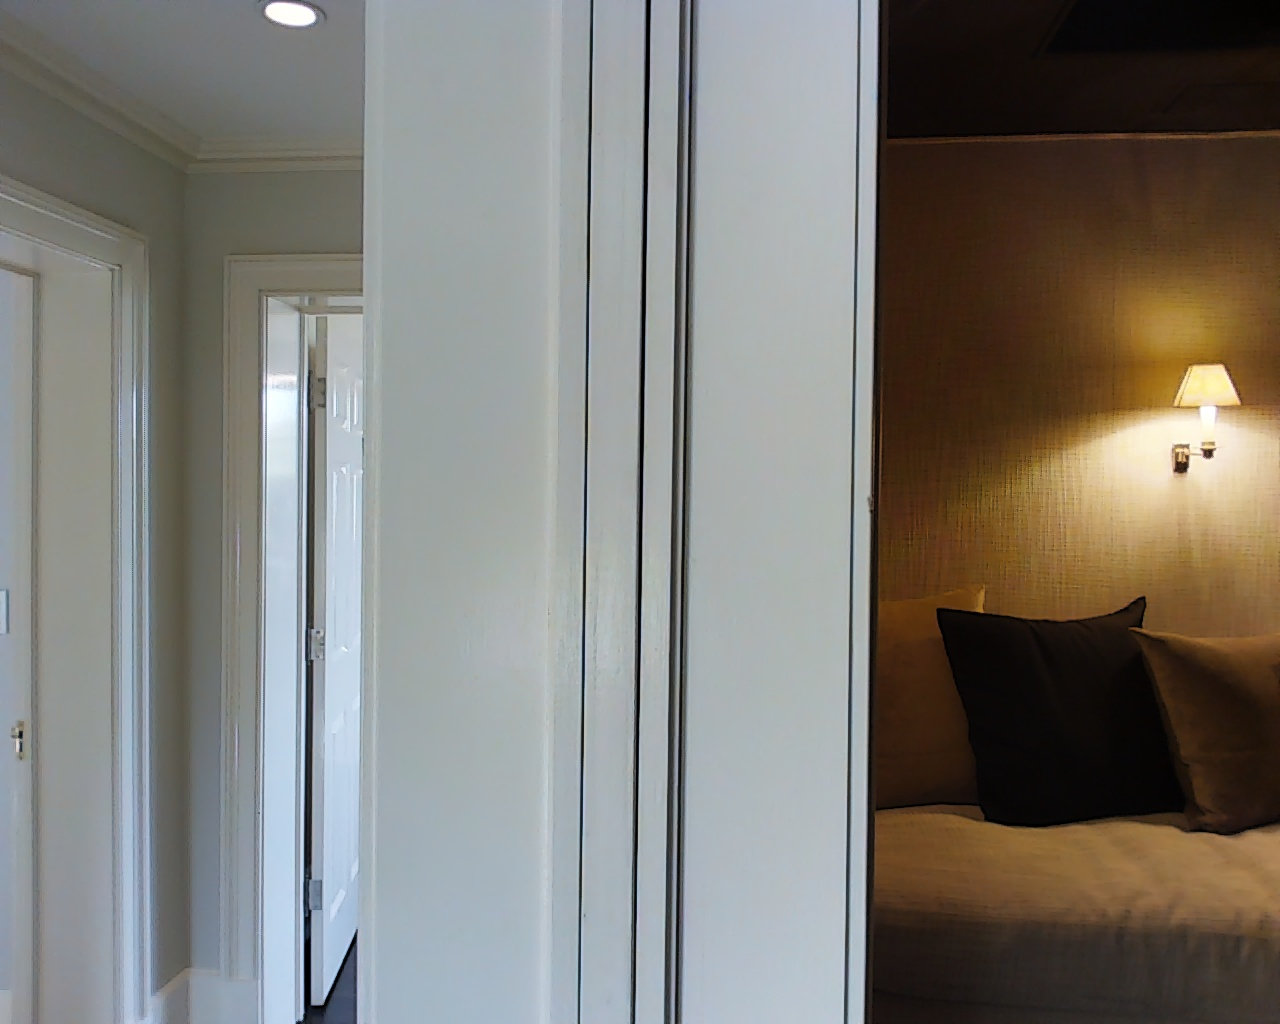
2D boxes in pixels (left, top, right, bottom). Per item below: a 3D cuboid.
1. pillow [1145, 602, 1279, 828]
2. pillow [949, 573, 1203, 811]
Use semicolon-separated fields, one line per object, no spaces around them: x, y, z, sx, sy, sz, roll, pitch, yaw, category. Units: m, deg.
1.280;0.420;2.200;0.400;0.420;0.130;5;-20;-7;pillow
0.900;0.380;2.260;0.440;0.440;0.150;6;-21;-8;pillow
